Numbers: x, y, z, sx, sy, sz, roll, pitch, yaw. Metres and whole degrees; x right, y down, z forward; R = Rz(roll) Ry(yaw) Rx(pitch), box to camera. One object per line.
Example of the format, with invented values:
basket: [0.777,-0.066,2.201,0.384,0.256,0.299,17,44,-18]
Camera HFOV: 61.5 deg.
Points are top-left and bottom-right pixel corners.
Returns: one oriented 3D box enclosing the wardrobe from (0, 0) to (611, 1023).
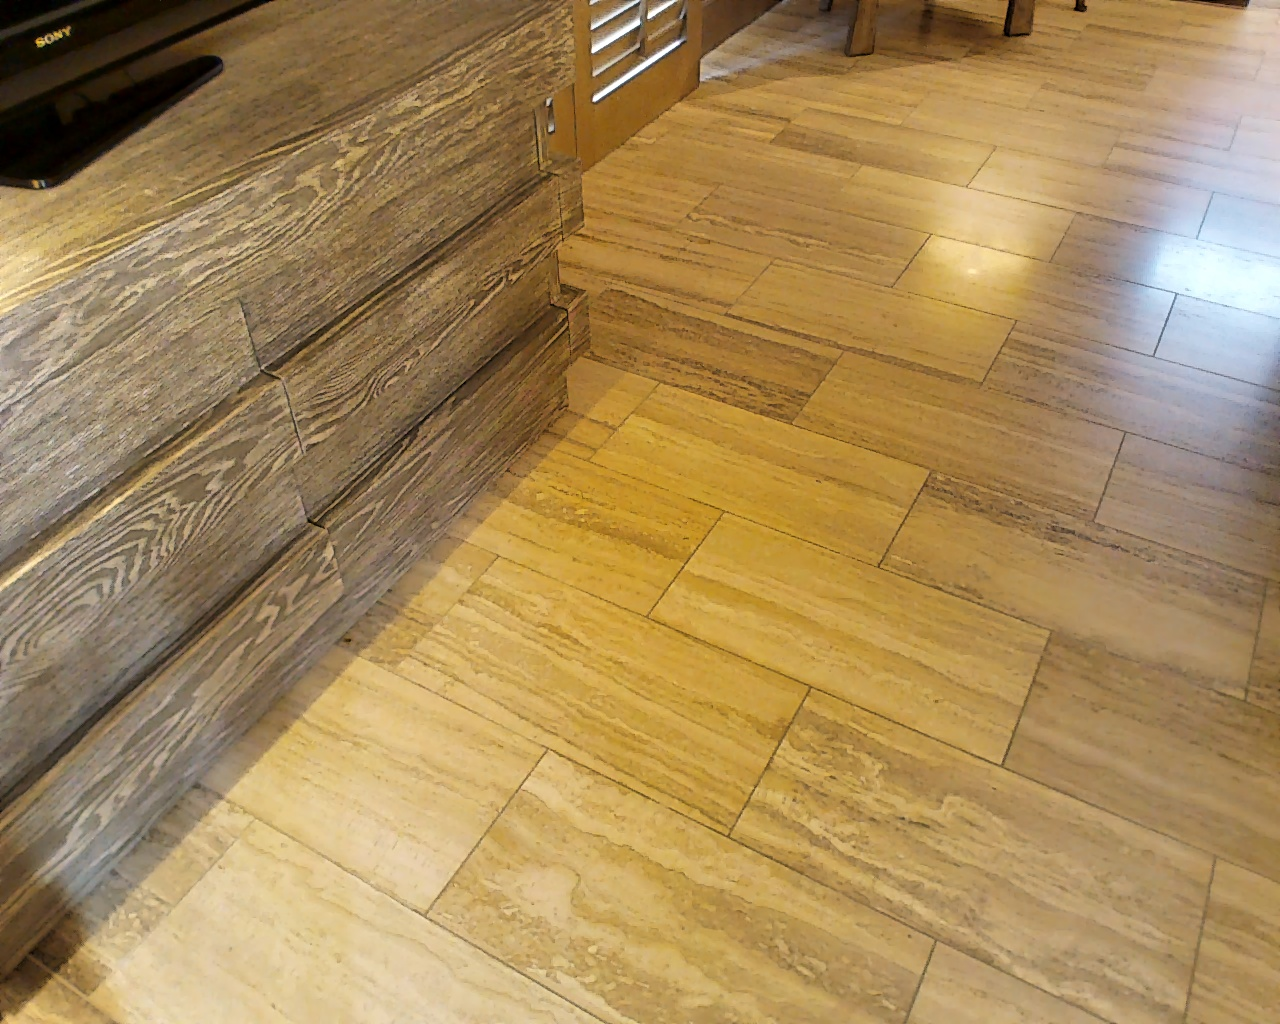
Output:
wardrobe: [-0.750,-0.150,1.650,0.680,0.820,1.560,20,47,22]
